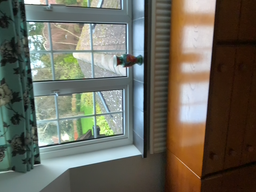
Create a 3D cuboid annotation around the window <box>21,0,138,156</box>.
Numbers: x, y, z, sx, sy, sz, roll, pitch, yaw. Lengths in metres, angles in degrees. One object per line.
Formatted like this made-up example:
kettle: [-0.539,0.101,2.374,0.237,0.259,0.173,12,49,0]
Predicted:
window: [-0.330,-0.390,1.640,0.120,0.820,1.660,-146,53,-66]
